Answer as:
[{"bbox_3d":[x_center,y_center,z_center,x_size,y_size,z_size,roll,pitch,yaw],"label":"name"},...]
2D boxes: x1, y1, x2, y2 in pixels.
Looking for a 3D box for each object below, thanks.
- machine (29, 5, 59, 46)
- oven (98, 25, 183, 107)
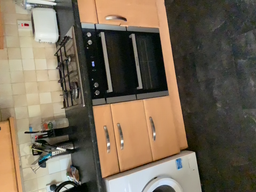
[{"bbox_3d":[-0.720,-0.590,1.810,0.180,0.180,0.270,-10,88,58],"label":"machine"},{"bbox_3d":[0.090,-0.250,2.030,0.600,0.470,0.610,-12,86,58],"label":"oven"}]
